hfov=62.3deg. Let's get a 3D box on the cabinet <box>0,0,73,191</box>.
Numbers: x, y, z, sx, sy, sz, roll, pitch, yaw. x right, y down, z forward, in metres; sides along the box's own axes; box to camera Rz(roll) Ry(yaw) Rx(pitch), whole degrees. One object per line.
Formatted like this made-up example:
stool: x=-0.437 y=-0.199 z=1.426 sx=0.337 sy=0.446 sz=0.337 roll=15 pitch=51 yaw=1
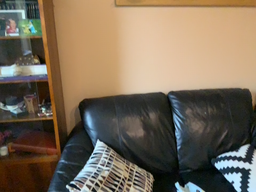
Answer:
cabinet: x=-1.050 y=0.150 z=1.450 sx=1.140 sy=1.630 sz=0.360 roll=-3 pitch=18 yaw=-7
